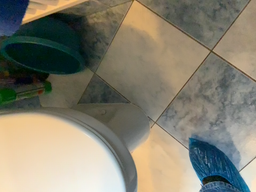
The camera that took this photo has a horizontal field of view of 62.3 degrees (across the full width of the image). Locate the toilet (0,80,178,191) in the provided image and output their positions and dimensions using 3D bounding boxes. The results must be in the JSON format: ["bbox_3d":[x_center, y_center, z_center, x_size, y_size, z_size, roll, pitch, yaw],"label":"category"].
[{"bbox_3d":[-0.290,0.220,0.630,0.670,0.750,0.360,-6,98,26],"label":"toilet"}]
